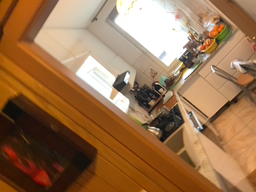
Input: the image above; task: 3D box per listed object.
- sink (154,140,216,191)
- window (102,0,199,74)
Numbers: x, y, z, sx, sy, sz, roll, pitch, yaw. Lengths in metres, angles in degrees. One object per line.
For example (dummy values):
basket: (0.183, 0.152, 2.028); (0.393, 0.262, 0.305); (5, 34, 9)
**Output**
sink: (0.460, 0.680, 1.830); (0.450, 0.190, 0.390); (-48, 9, 16)
window: (0.400, -1.220, 3.830); (0.750, 1.600, 0.230); (-48, 9, 18)
